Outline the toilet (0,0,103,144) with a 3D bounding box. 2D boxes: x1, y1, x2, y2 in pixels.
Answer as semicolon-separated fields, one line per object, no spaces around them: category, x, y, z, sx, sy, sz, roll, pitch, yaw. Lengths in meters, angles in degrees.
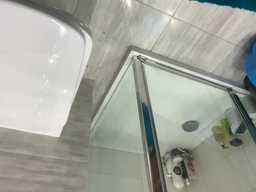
toilet;-0.340;-0.150;0.720;0.360;0.360;0.510;14;134;-20
